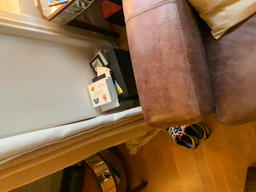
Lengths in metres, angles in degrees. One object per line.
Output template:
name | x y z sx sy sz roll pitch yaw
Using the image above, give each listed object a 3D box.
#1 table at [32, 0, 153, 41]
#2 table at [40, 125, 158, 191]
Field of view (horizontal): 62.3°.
table | -0.210 -0.660 1.220 0.360 0.590 0.490 -18 85 32
table | -0.260 0.810 1.480 0.480 0.530 1.010 24 107 28
